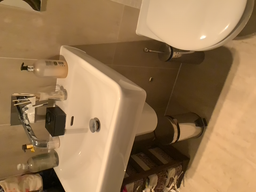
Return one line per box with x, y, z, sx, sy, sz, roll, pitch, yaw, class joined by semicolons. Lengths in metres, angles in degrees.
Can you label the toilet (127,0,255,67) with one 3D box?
0.320;-0.390;0.950;0.520;0.340;0.360;35;118;45;toilet
